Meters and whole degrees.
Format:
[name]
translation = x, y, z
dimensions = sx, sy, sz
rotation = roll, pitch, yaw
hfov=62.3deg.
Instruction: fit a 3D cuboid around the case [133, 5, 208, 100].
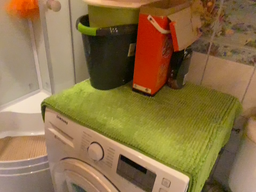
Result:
[case]
translation = 0.190, -0.210, 0.940
dimensions = 0.150, 0.310, 0.350
rotation = 22, 35, 26
